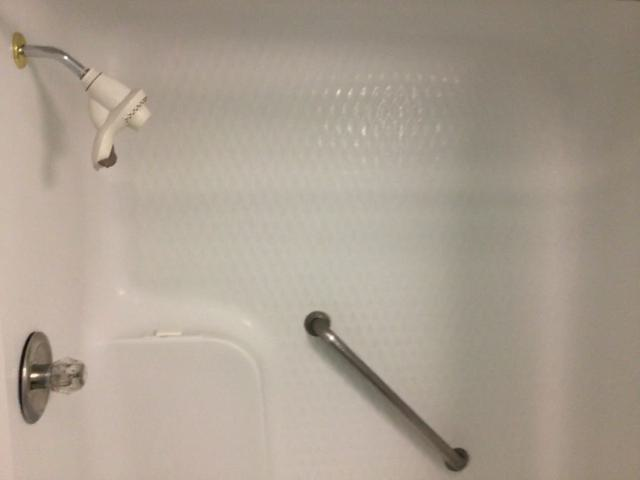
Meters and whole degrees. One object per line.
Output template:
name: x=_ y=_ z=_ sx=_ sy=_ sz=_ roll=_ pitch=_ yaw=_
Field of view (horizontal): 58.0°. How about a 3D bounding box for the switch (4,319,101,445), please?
switch: x=-0.500 y=0.260 z=1.100 sx=0.110 sy=0.170 sz=0.200 roll=0 pitch=7 yaw=-9
